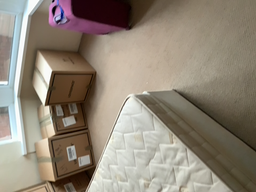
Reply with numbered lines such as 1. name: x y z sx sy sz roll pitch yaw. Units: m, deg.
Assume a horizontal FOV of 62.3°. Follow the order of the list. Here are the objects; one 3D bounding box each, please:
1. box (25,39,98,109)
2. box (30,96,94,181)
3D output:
1. box: -0.810 -0.260 2.540 0.540 0.570 0.570 48 126 34
2. box: -0.830 0.490 2.640 0.470 0.500 0.890 -15 83 47
